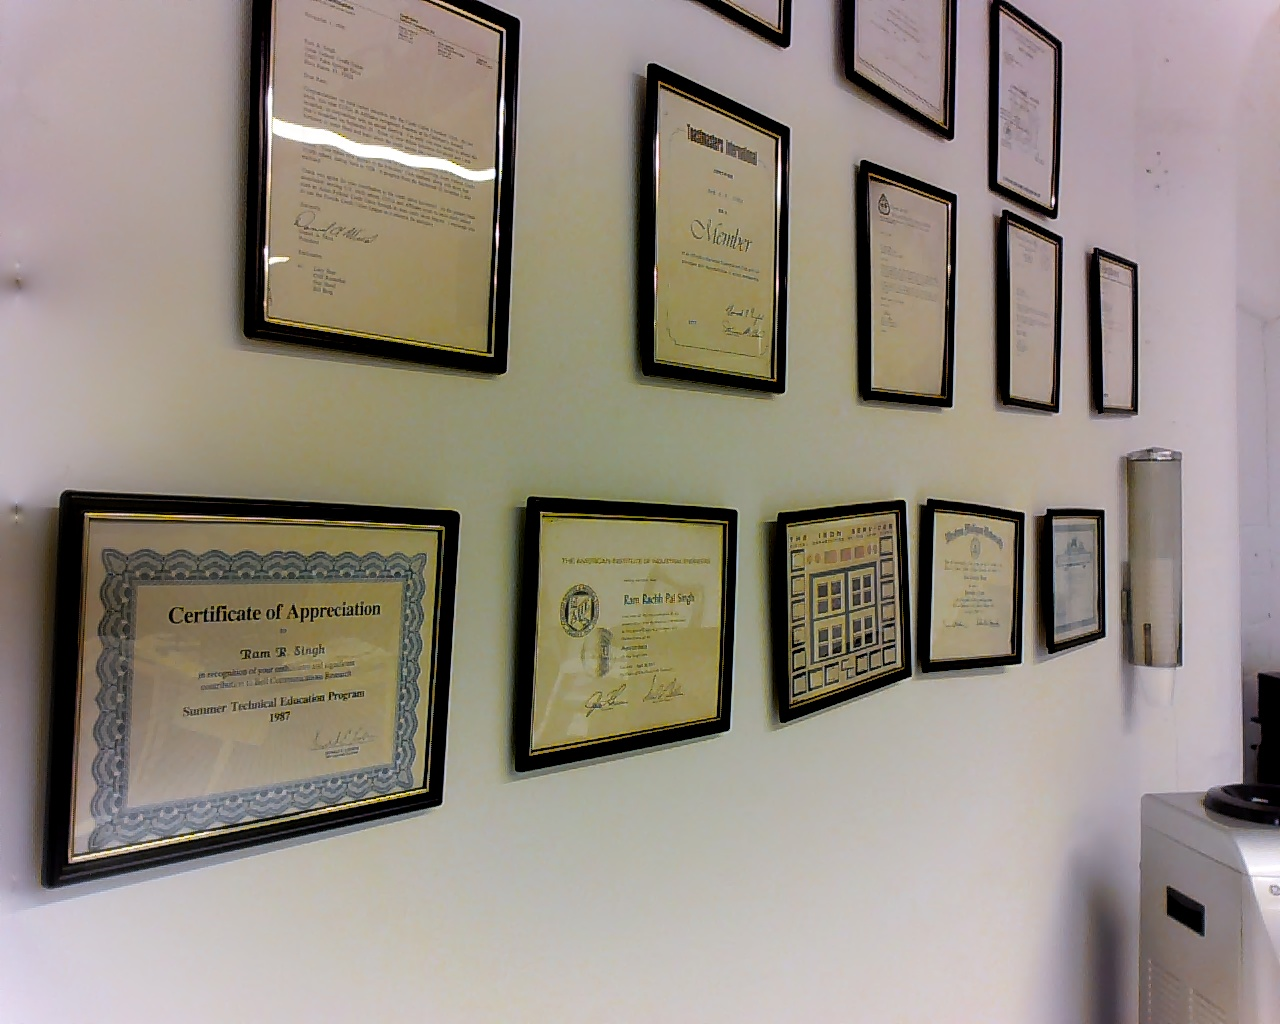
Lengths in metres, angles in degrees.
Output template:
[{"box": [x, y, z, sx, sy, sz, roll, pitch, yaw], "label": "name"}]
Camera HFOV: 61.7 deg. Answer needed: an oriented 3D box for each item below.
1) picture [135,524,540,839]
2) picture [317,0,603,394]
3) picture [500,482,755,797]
[{"box": [-0.210, 0.110, 0.800, 0.300, 0.200, 0.040, 1, 2, -43], "label": "picture"}, {"box": [-0.140, -0.270, 0.890, 0.250, 0.320, 0.040, 1, 0, -43], "label": "picture"}, {"box": [0.000, 0.110, 1.030, 0.310, 0.270, 0.020, 1, 0, -43], "label": "picture"}]
